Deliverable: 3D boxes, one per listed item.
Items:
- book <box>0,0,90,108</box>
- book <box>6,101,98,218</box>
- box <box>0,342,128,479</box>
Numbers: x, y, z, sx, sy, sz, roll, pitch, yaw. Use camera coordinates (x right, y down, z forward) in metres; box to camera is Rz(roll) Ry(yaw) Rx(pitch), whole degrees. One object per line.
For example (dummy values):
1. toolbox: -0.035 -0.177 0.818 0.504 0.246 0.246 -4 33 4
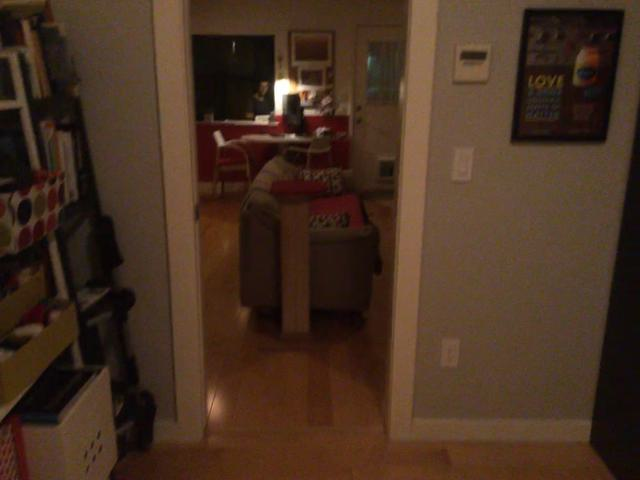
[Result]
1. book: -0.840 -0.590 1.730 0.160 0.360 0.290 -1 17 -2
2. book: -0.830 -0.260 1.820 0.140 0.330 0.250 -1 17 -2
3. box: -0.770 0.560 1.650 0.290 0.380 0.410 -1 17 -2
